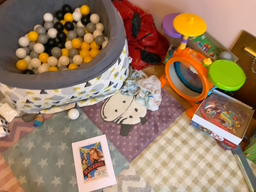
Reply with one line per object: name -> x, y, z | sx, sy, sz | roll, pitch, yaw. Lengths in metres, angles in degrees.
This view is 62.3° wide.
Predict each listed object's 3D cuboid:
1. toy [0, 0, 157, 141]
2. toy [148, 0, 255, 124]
toy -> -0.430, -0.340, 1.420 | 0.840, 0.400, 0.850 | -40, 69, -22
toy -> 0.440, -0.210, 1.290 | 0.240, 0.580, 0.560 | -39, 68, -21
